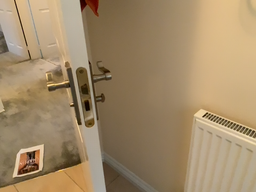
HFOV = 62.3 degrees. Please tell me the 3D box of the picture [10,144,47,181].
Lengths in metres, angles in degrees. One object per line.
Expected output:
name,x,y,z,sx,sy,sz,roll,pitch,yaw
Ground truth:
picture,-0.740,0.490,1.610,0.230,0.010,0.300,-10,30,-14
